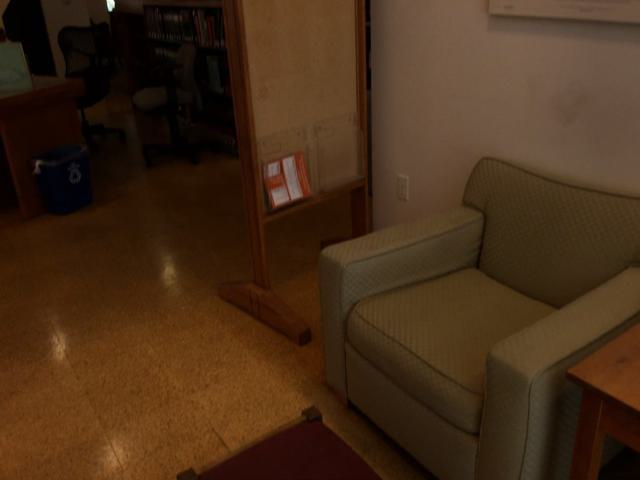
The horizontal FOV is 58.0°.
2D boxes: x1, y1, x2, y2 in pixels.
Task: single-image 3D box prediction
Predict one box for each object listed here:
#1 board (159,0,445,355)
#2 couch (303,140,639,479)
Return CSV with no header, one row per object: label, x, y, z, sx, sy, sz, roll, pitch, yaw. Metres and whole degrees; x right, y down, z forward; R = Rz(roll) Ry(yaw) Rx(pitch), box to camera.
board,-0.070,-0.630,2.400,0.840,1.870,0.760,-18,28,-29
couch,0.570,0.240,1.790,0.840,0.790,0.910,-18,28,-29
